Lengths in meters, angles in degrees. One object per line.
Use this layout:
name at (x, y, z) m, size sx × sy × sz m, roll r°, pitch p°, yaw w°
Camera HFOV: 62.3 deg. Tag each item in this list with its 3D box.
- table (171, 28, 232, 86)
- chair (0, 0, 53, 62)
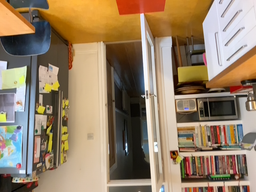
table at (1.090, -0.570, 3.260) m, size 0.720 × 0.710 × 0.490 m, roll -4°, pitch 172°, yaw 4°
chair at (-0.810, -0.700, 1.440) m, size 0.360 × 0.760 × 0.610 m, roll -4°, pitch 172°, yaw 3°
